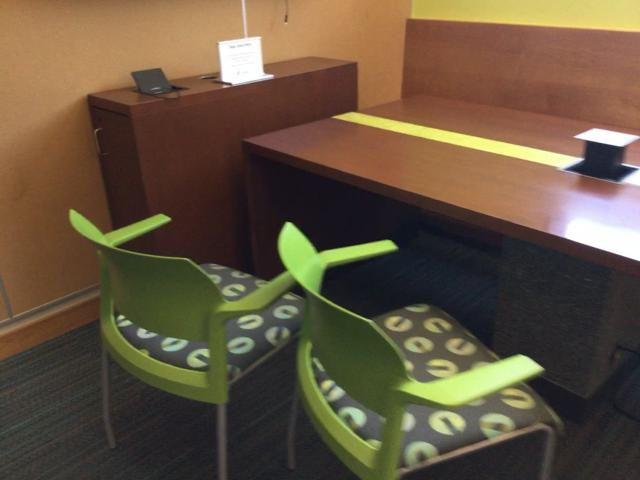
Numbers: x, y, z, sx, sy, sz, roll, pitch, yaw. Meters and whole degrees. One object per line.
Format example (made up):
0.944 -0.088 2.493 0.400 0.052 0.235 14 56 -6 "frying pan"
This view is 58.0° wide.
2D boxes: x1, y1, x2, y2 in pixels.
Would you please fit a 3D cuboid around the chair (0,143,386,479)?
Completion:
-0.310 0.240 1.600 0.750 0.830 0.610 13 28 36 "chair"

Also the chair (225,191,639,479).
0.190 0.390 1.330 0.580 0.760 0.700 -12 24 -18 "chair"
